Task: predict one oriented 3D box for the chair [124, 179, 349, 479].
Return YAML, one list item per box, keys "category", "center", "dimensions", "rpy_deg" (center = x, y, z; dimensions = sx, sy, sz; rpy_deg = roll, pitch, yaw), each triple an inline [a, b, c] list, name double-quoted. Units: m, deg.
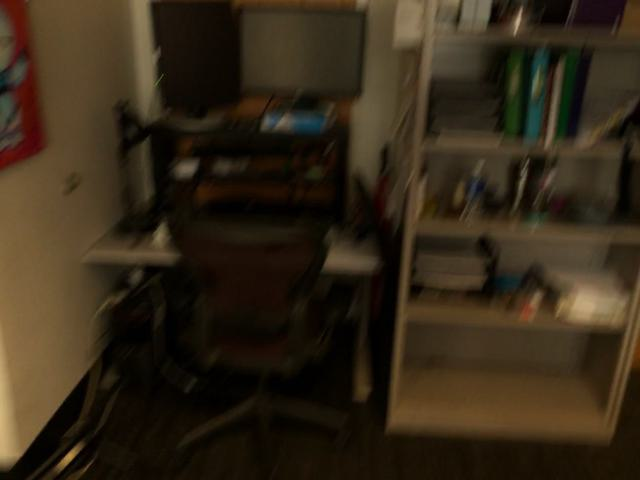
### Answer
- category: "chair"
  center: [-0.220, 0.320, 2.080]
  dimensions: [0.630, 0.960, 0.590]
  rpy_deg: [0, 19, 4]
